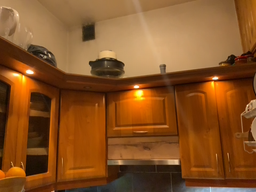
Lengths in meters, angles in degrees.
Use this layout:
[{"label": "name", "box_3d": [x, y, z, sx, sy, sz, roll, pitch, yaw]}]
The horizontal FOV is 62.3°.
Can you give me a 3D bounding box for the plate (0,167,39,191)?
[{"label": "plate", "box_3d": [-0.560, 0.380, 0.880, 0.260, 0.140, 0.220, -5, -12, 15]}]
